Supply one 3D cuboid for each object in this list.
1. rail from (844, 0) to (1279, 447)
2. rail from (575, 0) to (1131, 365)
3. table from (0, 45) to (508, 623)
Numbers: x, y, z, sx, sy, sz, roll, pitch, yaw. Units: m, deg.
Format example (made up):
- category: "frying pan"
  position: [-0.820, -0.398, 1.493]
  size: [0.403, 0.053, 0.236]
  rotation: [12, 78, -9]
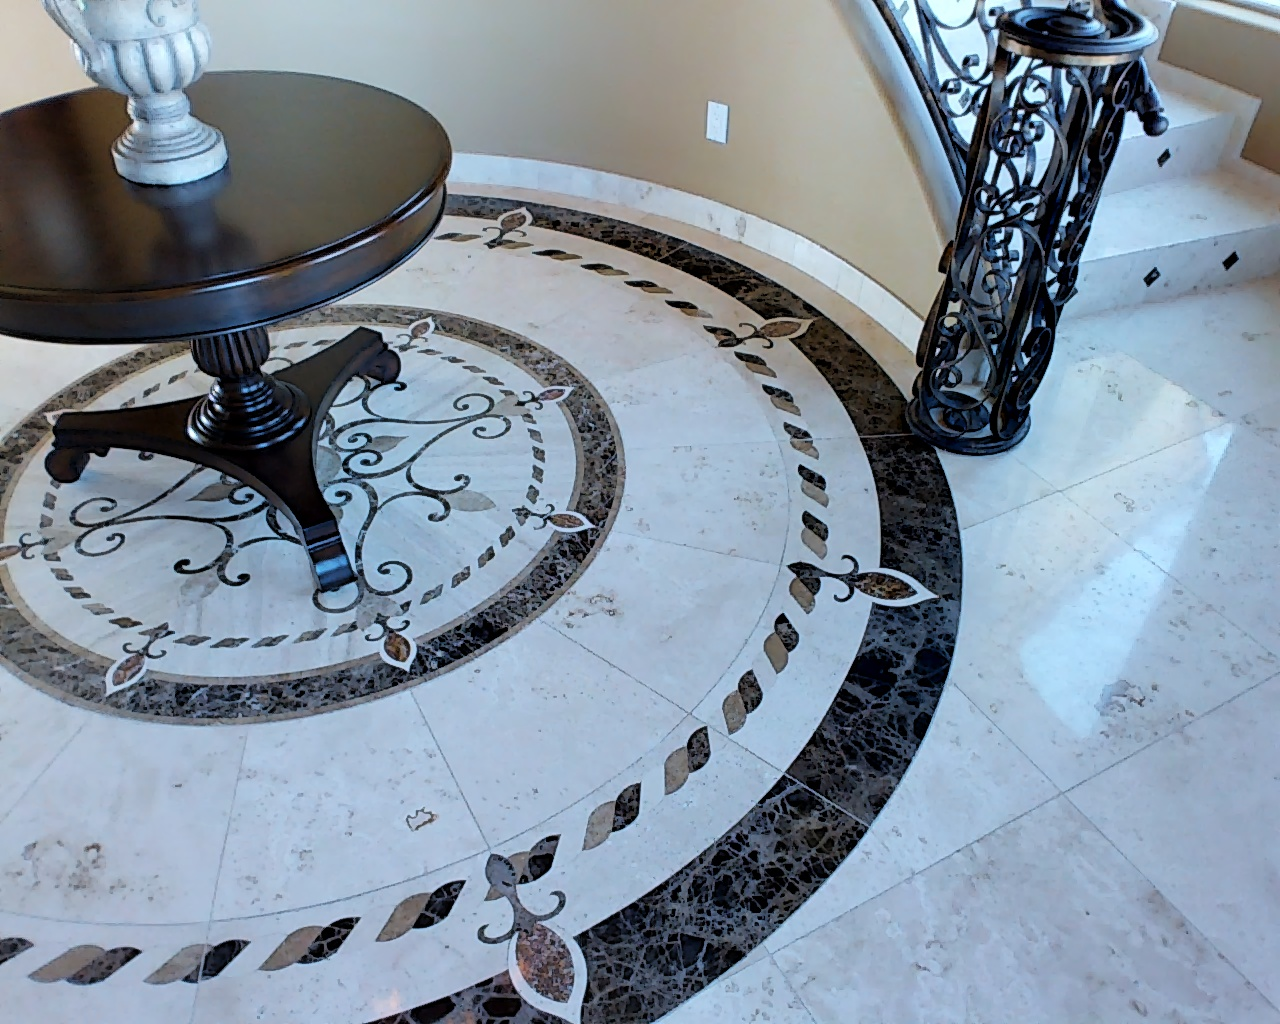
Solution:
- category: "rail"
  position: [0.880, -1.150, 2.260]
  size: [0.460, 1.860, 0.860]
  rotation: [-3, 41, -4]
- category: "rail"
  position: [0.480, -1.219, 2.850]
  size: [1.390, 1.190, 0.390]
  rotation: [28, 48, 28]
- category: "table"
  position: [-0.860, -0.420, 2.250]
  size: [1.060, 0.750, 1.050]
  rotation: [-1, 41, -2]
